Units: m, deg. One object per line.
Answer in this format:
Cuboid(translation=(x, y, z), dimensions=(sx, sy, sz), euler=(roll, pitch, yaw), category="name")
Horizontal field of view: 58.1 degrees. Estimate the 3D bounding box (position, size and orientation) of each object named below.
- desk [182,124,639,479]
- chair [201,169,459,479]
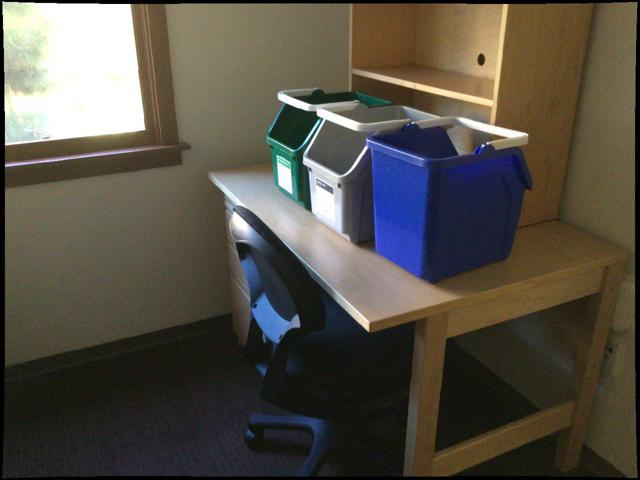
Cuboid(translation=(0.170, 0.190, 2.080), dimensions=(0.868, 0.862, 1.370), euler=(-13, 27, -27), category="desk")
Cuboid(translation=(0.000, 0.321, 1.740), dimensions=(0.489, 0.892, 0.550), euler=(-13, 27, -27), category="chair")
